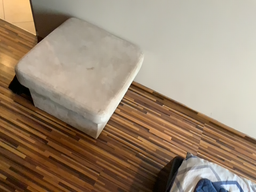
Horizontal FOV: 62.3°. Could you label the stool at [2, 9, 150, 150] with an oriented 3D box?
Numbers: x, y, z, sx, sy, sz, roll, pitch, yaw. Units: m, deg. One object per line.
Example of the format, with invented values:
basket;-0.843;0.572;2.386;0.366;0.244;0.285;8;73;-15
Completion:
stool;-0.280;-0.110;1.340;0.580;0.420;0.570;27;55;5
